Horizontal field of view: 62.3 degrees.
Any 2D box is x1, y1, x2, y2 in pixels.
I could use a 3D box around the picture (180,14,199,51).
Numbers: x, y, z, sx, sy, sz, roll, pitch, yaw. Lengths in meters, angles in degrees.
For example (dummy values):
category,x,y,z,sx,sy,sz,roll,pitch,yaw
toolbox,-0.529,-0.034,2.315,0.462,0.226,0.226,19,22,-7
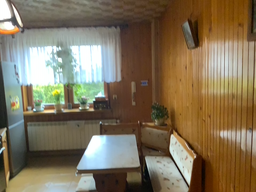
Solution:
category,x,y,z,sx,sy,sz,roll,pitch,yaw
picture,0.630,-0.640,2.200,0.080,0.300,0.360,0,5,0
